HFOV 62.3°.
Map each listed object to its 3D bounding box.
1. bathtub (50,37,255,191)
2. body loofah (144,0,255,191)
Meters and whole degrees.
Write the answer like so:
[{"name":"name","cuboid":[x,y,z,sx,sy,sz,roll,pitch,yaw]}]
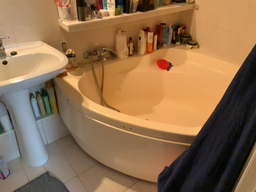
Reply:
[{"name":"bathtub","cuboid":[0.380,0.160,1.690,1.440,0.610,1.360,-21,41,-30]},{"name":"body loofah","cuboid":[0.280,0.110,0.760,0.220,0.970,0.310,-21,41,-30]}]
